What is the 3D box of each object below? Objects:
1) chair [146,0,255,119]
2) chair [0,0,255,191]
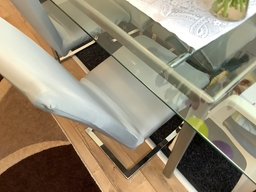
[{"bbox_3d":[0.480,-0.400,1.150,0.590,0.940,0.370,-35,62,-23],"label":"chair"},{"bbox_3d":[-0.030,-0.010,0.900,0.680,0.900,0.430,-32,60,-21],"label":"chair"}]
